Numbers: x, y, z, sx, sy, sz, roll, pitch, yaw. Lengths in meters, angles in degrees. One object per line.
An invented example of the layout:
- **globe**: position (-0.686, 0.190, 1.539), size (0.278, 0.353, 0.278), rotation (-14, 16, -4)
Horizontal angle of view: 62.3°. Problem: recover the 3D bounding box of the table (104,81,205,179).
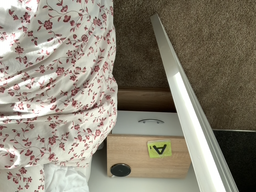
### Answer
- **table**: position (0.100, 0.170, 1.130), size (0.420, 0.400, 0.320), rotation (1, 128, -3)
